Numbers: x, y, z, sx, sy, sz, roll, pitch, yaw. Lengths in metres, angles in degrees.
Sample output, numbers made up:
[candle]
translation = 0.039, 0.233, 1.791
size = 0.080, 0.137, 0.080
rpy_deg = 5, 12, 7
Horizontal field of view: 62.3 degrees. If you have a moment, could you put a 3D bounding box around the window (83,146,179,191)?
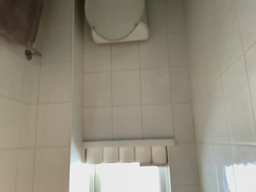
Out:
[window]
translation = 0.030, 0.630, 1.430
size = 0.600, 0.540, 0.260
rpy_deg = -4, 169, 8
